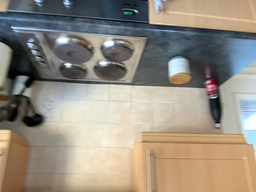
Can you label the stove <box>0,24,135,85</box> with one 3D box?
[{"bbox_3d":[-0.310,-0.190,1.170,0.620,0.030,0.530,2,160,-8],"label":"stove"}]
